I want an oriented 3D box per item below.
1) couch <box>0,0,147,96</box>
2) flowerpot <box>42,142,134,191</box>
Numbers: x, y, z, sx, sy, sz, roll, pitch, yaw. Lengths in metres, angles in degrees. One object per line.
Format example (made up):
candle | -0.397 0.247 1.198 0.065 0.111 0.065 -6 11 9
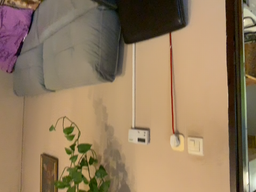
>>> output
couch | -1.010 -0.670 1.810 1.190 1.170 2.100 5 174 -41
flowerpot | -0.270 0.750 1.350 0.380 0.820 0.470 6 174 -44
